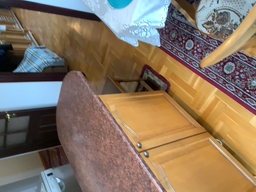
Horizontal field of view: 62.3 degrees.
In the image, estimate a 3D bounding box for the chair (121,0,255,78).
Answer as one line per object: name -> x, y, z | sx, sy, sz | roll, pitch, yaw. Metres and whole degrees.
chair -> 0.520, -0.420, 0.950 | 0.530, 0.870, 0.420 | 51, 130, 34
